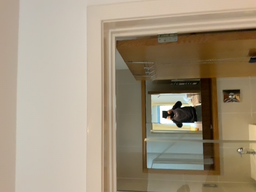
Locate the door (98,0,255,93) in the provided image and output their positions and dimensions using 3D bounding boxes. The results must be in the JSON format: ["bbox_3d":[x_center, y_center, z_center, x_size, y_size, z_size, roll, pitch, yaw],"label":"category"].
[{"bbox_3d":[0.990,-0.260,1.330,0.950,2.150,0.220,51,-142,-76],"label":"door"}]
